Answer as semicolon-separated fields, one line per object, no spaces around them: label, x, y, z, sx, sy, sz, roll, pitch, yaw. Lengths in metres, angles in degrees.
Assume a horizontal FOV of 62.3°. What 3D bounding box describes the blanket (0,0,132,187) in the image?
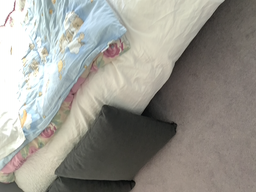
blanket;-0.620;-0.260;1.230;1.280;0.130;0.980;-52;57;27
